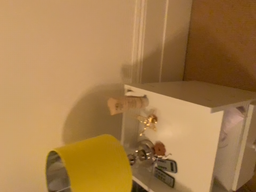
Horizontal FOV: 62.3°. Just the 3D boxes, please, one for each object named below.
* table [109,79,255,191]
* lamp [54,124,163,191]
[{"bbox_3d":[0.240,0.140,0.840,0.430,0.450,0.350,17,108,50],"label":"table"},{"bbox_3d":[-0.060,0.240,0.660,0.170,0.280,0.220,18,108,49],"label":"lamp"}]
